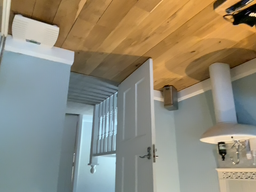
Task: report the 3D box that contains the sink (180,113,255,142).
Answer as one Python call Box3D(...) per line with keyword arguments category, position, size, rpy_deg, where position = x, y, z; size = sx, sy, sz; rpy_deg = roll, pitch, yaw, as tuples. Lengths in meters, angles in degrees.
Box3D(category="sink", position=(0.920, 0.340, 2.130), size=(0.430, 0.160, 0.650), rpy_deg=(10, 159, -27))
